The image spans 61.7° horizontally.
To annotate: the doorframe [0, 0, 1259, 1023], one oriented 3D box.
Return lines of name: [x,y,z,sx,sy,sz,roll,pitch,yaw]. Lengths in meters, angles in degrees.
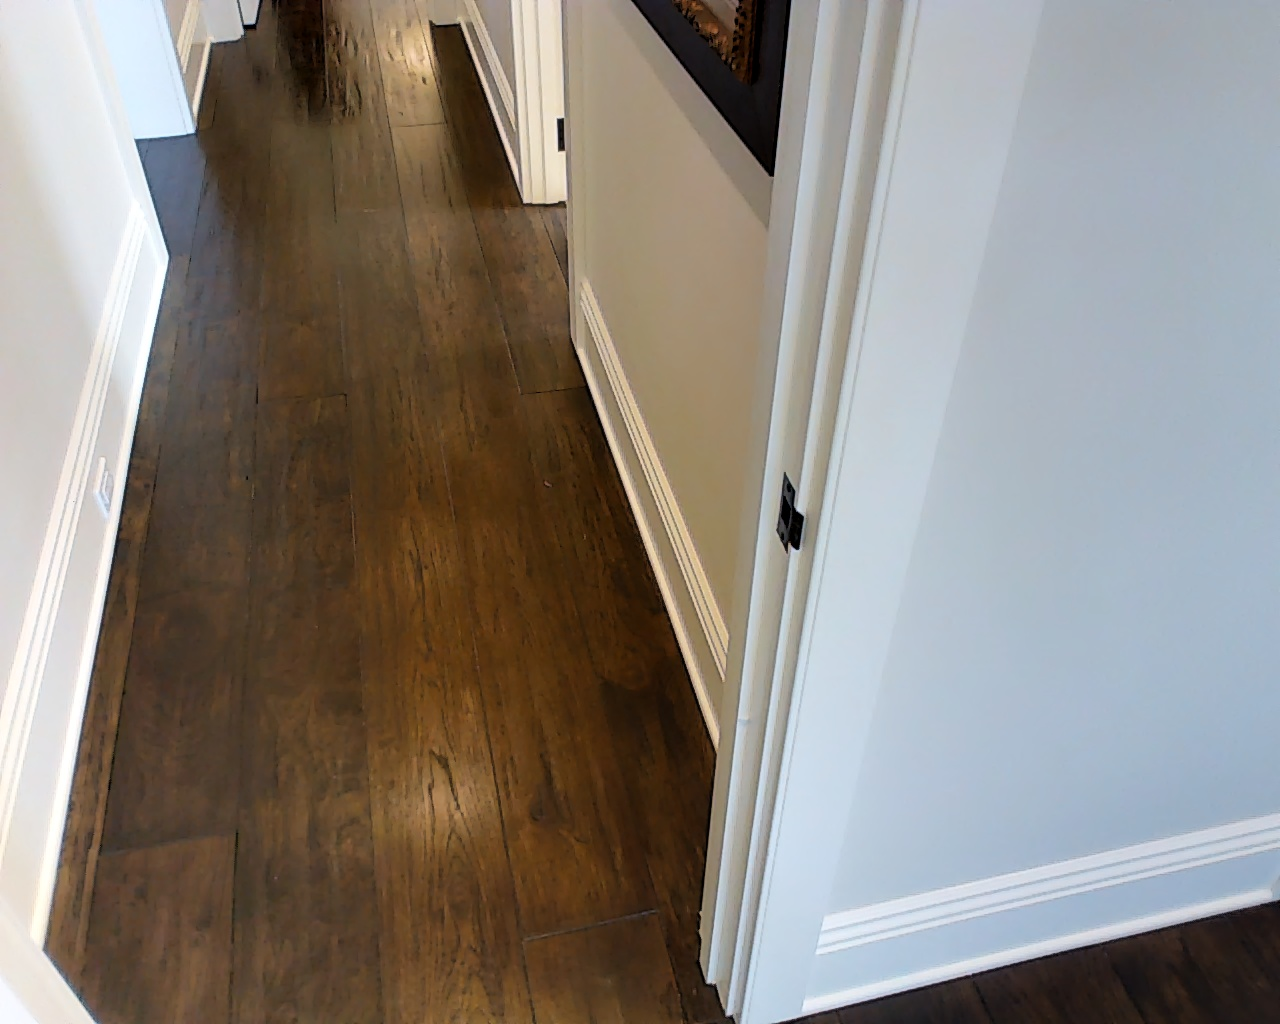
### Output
doorframe: [-0.240,-0.280,0.570,1.150,2.720,0.220,-9,41,-10]
